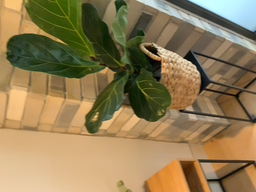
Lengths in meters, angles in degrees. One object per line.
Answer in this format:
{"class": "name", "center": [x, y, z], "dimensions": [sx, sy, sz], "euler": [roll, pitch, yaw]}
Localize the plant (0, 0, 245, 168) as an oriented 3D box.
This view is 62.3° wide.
{"class": "plant", "center": [-0.070, -0.090, 0.860], "dimensions": [0.440, 0.720, 0.560], "euler": [50, 124, 57]}
